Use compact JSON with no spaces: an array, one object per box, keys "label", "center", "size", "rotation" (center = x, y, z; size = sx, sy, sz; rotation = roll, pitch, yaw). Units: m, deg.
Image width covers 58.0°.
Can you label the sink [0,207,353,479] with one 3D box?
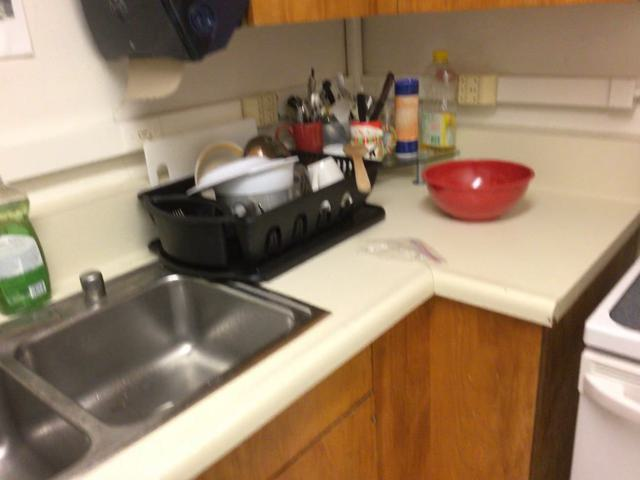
[{"label":"sink","center":[-0.430,0.260,0.920],"size":[0.570,0.330,0.830],"rotation":[13,27,37]}]

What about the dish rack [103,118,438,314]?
[{"label":"dish rack","center":[-0.080,-0.110,1.340],"size":[0.450,0.220,0.620],"rotation":[13,27,37]}]

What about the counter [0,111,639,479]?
[{"label":"counter","center":[-0.100,0.050,1.090],"size":[0.980,0.250,1.840],"rotation":[13,27,37]}]
